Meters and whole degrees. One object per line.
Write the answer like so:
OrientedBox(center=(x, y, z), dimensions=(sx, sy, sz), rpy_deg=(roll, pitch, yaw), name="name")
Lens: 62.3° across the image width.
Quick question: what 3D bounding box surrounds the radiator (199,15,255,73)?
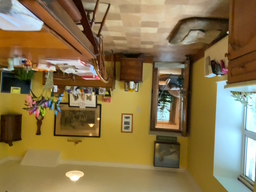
OrientedBox(center=(1.290, -0.610, 2.920), dimensions=(0.100, 0.400, 1.620), rpy_deg=(2, 180, 2), name="radiator")
